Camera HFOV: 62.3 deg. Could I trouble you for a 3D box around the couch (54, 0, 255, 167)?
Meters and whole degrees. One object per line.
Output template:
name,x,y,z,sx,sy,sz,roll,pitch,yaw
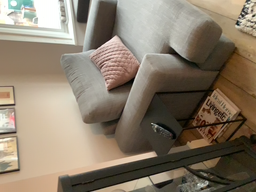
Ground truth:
couch,-0.030,-0.400,1.840,1.380,0.850,1.170,58,139,41
